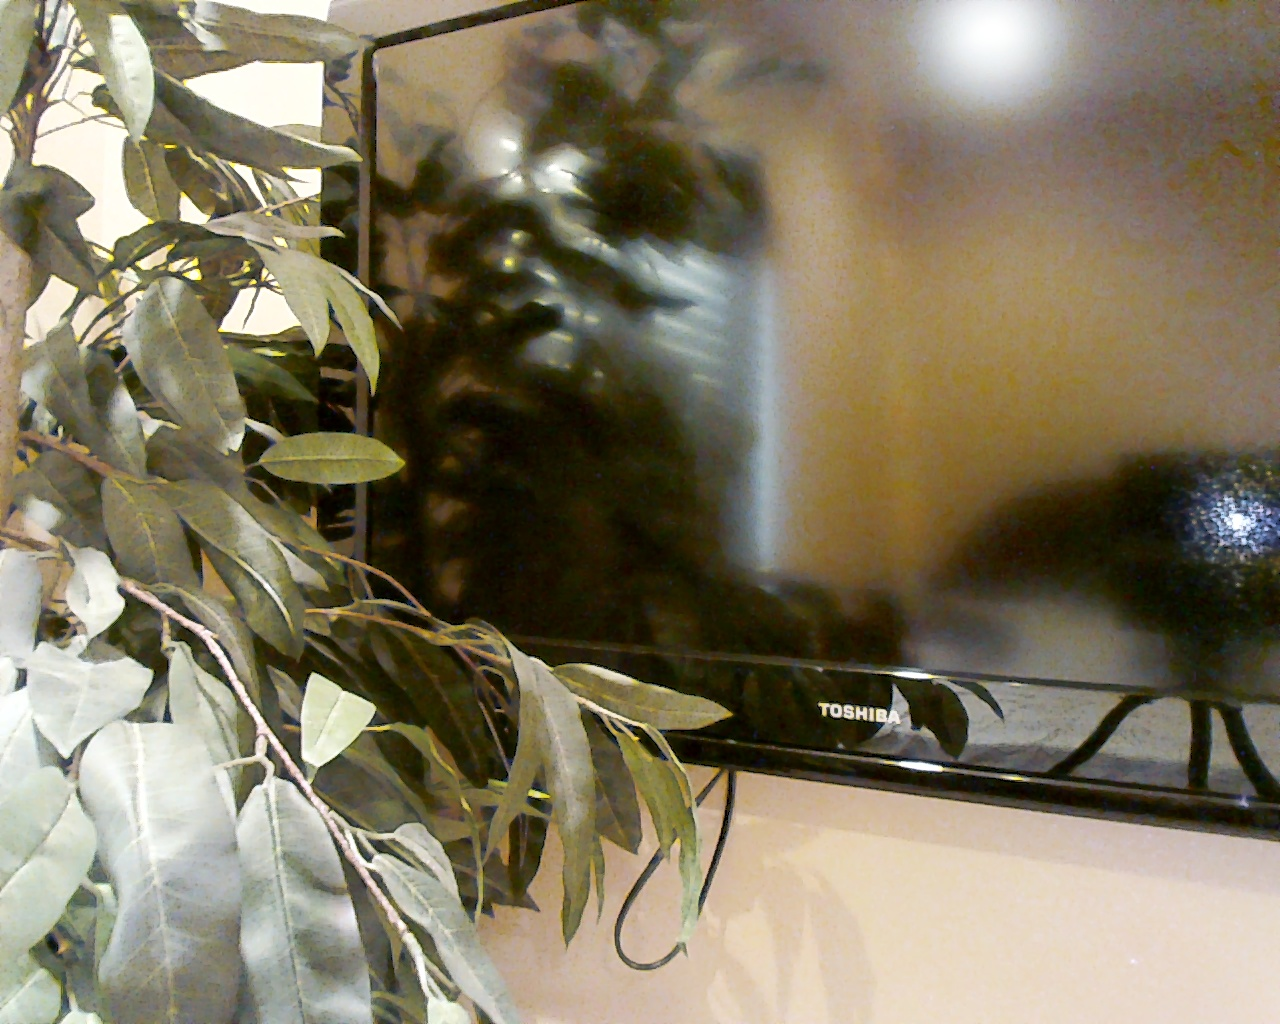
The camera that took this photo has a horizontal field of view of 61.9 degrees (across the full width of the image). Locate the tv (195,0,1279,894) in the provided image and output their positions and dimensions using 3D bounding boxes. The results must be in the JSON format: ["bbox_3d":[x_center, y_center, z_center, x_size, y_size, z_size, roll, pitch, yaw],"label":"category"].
[{"bbox_3d":[0.110,-0.150,0.810,1.160,0.730,0.110,1,0,28],"label":"tv"}]
